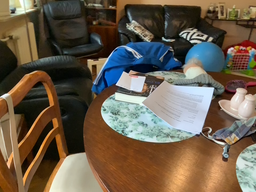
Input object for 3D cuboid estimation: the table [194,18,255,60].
[{"bbox_3d":[1.900,-1.100,4.110,1.050,0.700,0.280,0,28,-6],"label":"table"}]
